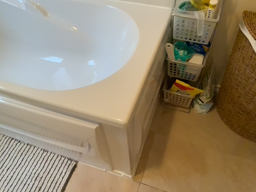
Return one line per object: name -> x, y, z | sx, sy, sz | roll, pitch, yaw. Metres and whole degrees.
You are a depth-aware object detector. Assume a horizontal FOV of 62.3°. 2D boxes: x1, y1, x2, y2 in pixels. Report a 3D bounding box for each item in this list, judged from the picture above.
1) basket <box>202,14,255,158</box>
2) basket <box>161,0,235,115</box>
basket -> 0.610, -0.010, 1.020 | 0.320, 0.580, 0.350 | 14, 54, 13
basket -> 0.320, -0.220, 1.070 | 0.200, 0.780, 0.190 | 15, 54, 14
